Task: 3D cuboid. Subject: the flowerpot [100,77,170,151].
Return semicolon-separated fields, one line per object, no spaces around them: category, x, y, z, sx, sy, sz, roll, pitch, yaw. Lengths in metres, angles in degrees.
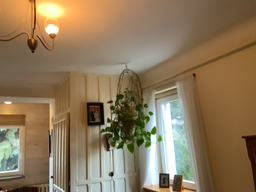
flowerpot;0.050;0.230;2.520;0.610;0.750;0.550;2;-12;-26
